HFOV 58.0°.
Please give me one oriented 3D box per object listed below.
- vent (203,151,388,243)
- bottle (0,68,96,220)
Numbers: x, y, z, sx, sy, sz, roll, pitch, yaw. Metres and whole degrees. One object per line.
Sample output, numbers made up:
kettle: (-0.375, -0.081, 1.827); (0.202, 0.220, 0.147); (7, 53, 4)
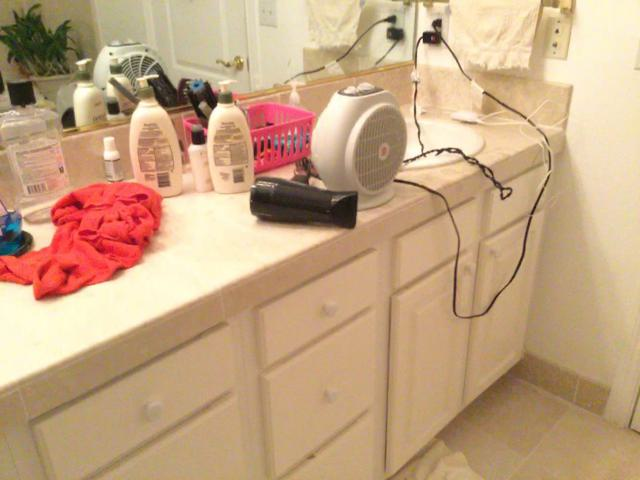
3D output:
vent: (-0.050, -0.100, 1.180); (0.250, 0.080, 0.280); (-22, 29, -40)
bottle: (-0.540, -0.190, 1.120); (0.110, 0.260, 0.130); (-22, 29, -40)
